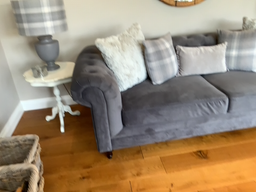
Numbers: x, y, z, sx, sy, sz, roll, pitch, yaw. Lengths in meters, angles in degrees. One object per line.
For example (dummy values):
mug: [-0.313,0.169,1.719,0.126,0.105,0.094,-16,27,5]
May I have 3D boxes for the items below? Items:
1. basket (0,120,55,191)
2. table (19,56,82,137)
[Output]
basket: [-0.850,0.440,1.580,0.470,0.270,0.430,-6,28,-6]
table: [-0.720,-0.020,2.140,0.410,0.600,0.530,-6,28,-7]
